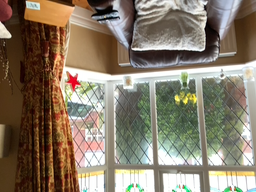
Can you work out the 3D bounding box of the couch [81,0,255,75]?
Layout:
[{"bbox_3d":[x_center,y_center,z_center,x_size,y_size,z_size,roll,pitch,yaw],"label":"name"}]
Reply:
[{"bbox_3d":[0.320,-0.780,1.840,1.060,0.860,1.050,-4,171,15],"label":"couch"}]

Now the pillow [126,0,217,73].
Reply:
[{"bbox_3d":[0.360,-0.570,1.840,0.460,0.590,0.150,-44,161,-9],"label":"pillow"}]

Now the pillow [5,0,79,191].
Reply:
[{"bbox_3d":[-0.830,0.160,2.190,0.600,2.600,0.520,1,171,-17],"label":"pillow"}]

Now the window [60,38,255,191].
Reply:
[{"bbox_3d":[0.530,0.530,2.510,2.620,2.040,0.610,-4,171,15],"label":"window"}]
